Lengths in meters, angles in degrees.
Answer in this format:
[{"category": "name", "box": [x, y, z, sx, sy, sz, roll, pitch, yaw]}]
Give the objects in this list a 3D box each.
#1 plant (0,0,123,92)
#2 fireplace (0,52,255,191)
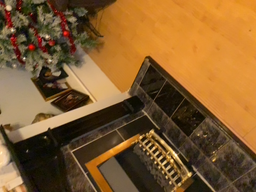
[{"category": "plant", "box": [-1.020, -0.650, 1.840, 0.830, 1.640, 0.780, 51, 138, 22]}, {"category": "fireplace", "box": [0.100, 0.480, 1.350, 1.410, 1.190, 0.610, 49, 137, 24]}]
